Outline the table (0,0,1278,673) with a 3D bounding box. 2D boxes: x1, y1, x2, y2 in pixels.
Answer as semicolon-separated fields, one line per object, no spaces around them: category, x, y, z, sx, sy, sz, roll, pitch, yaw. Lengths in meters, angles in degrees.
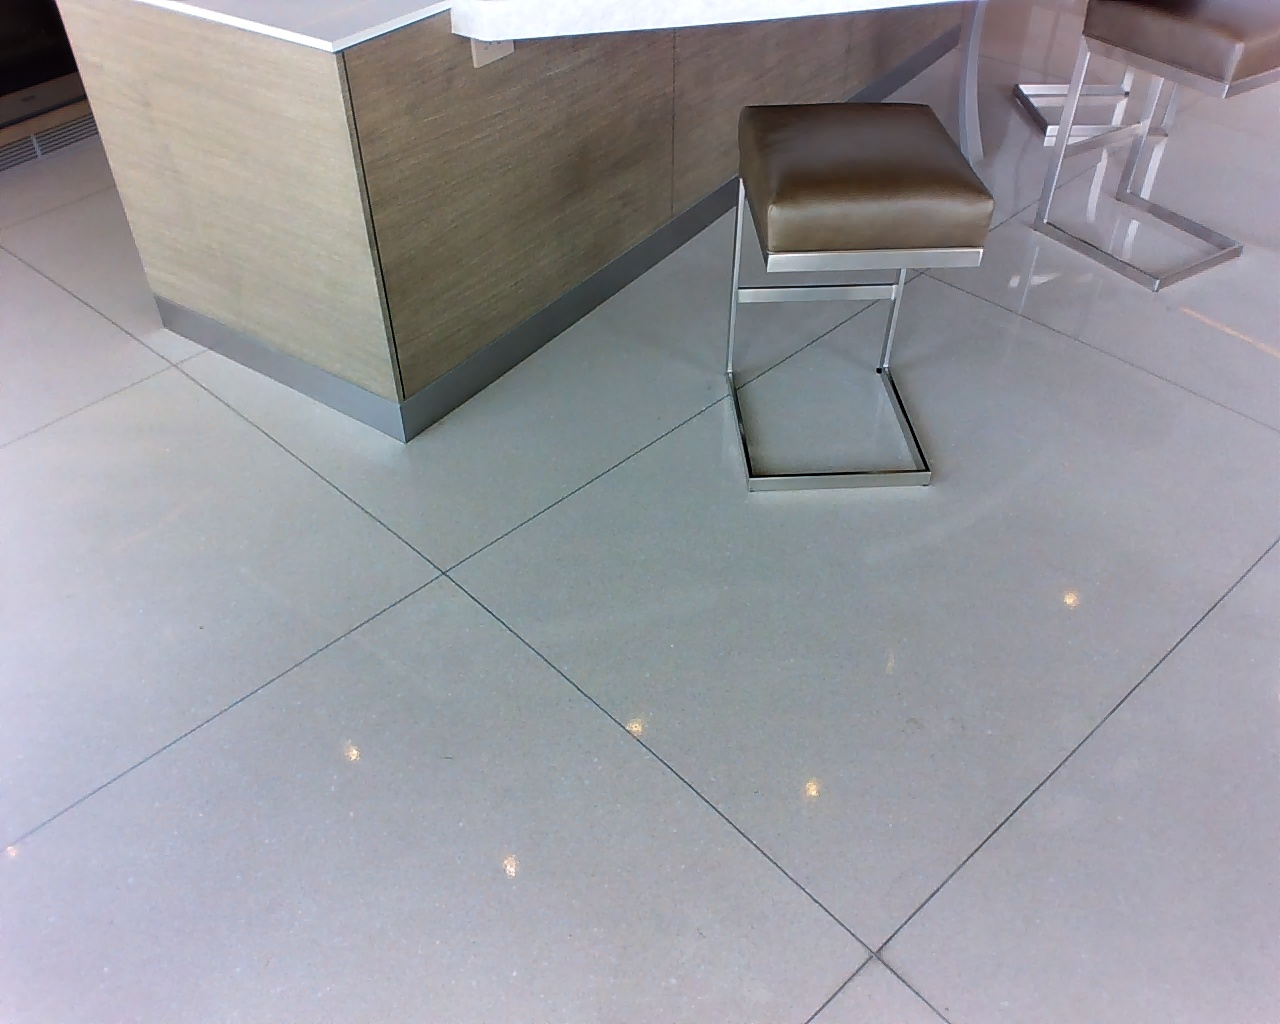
table;0.390;-1.380;3.240;2.100;0.950;3.460;27;48;27
